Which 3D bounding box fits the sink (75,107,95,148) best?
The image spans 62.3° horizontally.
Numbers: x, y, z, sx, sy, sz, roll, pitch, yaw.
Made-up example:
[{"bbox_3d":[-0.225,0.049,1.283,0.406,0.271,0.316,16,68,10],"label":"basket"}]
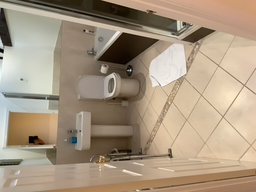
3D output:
[{"bbox_3d":[-0.620,0.450,3.040,0.420,0.170,0.530,163,109,-63],"label":"sink"}]
